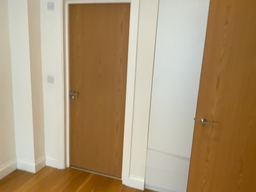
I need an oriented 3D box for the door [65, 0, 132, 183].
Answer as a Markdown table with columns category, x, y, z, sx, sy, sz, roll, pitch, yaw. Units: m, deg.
| category | x | y | z | sx | sy | sz | roll | pitch | yaw |
| --- | --- | --- | --- | --- | --- | --- | --- | --- | --- |
| door | -0.370 | -0.010 | 2.390 | 0.730 | 2.010 | 0.050 | 7 | 13 | 17 |
